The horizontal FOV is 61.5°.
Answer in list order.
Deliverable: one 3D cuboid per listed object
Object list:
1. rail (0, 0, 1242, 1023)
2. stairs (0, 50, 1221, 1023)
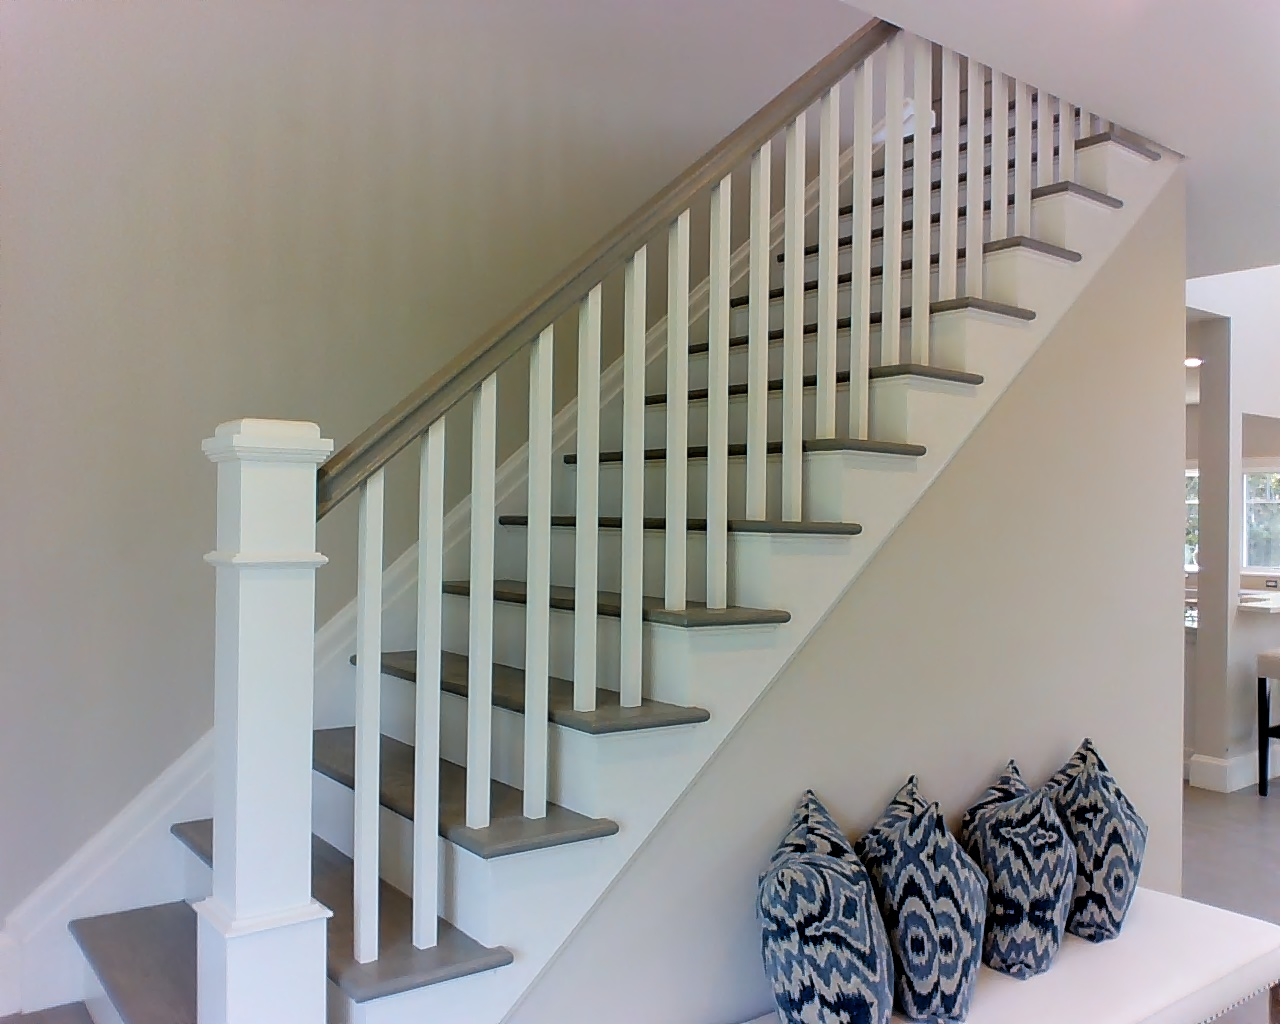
[{"bbox_3d":[0.380,-0.420,2.530,4.200,1.190,0.220,-45,25,-28],"label":"rail"},{"bbox_3d":[0.140,0.000,2.950,4.060,0.530,1.200,-44,25,-29],"label":"stairs"}]
